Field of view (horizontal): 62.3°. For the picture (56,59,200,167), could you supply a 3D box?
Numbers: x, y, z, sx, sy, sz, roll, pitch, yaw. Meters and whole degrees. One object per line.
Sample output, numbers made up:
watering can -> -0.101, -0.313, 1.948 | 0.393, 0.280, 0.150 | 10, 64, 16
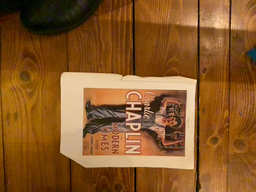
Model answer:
picture -> 0.000, 0.040, 0.460 | 0.290, 0.020, 0.210 | 5, 94, -4
